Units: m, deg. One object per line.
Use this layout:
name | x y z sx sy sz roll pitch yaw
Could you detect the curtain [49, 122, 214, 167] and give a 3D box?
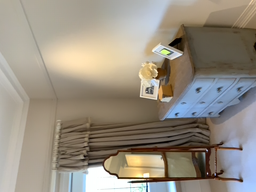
curtain | 0.070 0.680 3.060 0.320 2.210 0.490 105 163 -59
